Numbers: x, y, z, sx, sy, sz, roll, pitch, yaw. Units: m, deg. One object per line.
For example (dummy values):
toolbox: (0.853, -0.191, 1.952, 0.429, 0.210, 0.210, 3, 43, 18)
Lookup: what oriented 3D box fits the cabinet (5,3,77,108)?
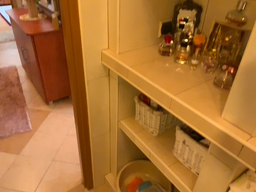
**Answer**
cabinet: (-1.040, -0.540, 2.510, 0.360, 0.810, 1.160, -19, 40, -30)
